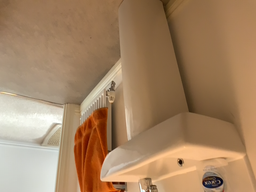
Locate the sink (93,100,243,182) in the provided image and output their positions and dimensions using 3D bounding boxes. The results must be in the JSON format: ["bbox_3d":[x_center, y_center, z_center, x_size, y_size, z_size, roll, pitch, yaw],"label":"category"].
[{"bbox_3d":[0.090,0.190,0.720,0.230,0.110,0.470,15,145,-30],"label":"sink"}]
